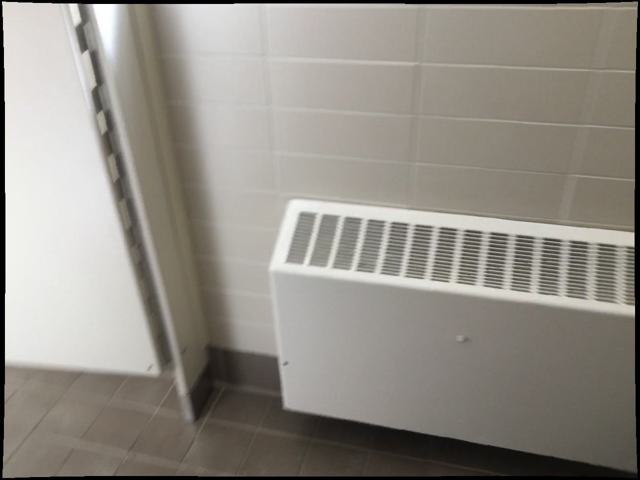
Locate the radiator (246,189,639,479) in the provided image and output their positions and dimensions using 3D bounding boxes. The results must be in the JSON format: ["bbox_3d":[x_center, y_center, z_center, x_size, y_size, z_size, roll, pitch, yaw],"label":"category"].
[{"bbox_3d":[0.310,0.210,1.270,0.869,0.540,0.190,7,35,17],"label":"radiator"}]
